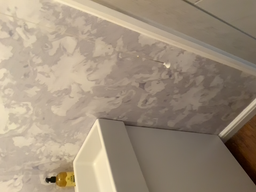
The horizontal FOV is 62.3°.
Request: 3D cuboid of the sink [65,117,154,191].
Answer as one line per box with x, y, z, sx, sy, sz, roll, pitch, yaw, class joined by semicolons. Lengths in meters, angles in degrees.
-0.100;0.380;0.830;0.420;0.130;0.400;-58;38;31;sink
